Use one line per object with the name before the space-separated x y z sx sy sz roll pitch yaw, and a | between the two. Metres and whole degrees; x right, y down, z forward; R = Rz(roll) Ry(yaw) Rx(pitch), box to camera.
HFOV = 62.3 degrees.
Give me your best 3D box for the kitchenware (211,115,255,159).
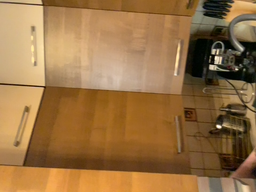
kitchenware | 0.650 0.250 1.300 0.090 0.210 0.240 97 175 -60
